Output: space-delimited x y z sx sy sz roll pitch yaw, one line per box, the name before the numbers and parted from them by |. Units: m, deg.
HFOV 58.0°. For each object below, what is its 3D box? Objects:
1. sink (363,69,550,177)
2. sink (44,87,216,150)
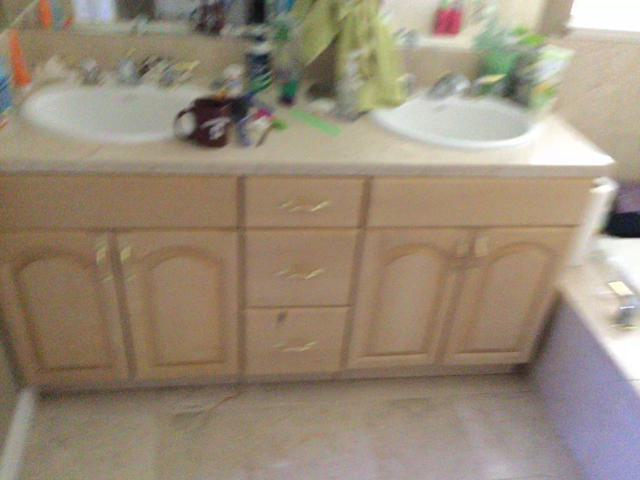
sink | 0.370 -0.350 1.680 0.390 0.160 0.400 -2 34 -10
sink | -0.500 -0.330 1.570 0.420 0.130 0.120 -2 34 -10
